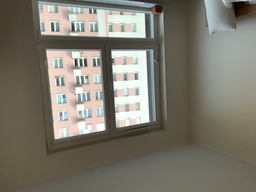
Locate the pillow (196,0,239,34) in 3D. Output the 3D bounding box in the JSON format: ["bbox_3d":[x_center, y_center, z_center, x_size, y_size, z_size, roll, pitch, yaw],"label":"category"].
[{"bbox_3d":[1.080,-1.010,2.570,0.330,0.420,0.350,-7,-173,-30],"label":"pillow"}]

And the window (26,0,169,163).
[{"bbox_3d":[-0.290,-0.360,2.850,1.810,2.130,0.180,-6,-173,-24],"label":"window"}]
